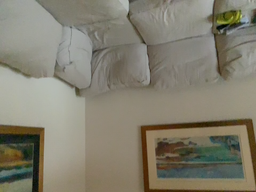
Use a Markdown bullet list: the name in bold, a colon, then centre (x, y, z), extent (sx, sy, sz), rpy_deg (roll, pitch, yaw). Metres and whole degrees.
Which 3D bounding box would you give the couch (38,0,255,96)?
- **couch**: centre (0.450, -0.600, 2.010), extent (2.390, 0.850, 0.850), rpy_deg (-6, 169, 17)

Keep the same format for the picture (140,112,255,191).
- **picture**: centre (0.680, 0.600, 2.150), extent (1.110, 0.800, 0.040), rpy_deg (-6, 169, 17)
